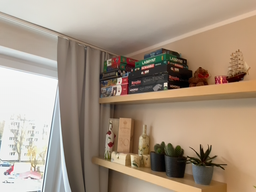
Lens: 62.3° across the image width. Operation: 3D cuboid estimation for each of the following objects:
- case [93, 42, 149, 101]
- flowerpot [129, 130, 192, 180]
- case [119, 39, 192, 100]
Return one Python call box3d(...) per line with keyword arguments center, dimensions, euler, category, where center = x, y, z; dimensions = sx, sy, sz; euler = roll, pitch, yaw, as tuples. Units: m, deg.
box3d(center=(-0.070, -0.200, 2.000), dimensions=(0.310, 0.440, 0.400), euler=(12, -12, -38), category="case")
box3d(center=(0.220, 0.400, 1.510), dimensions=(0.190, 0.270, 0.410), euler=(12, -12, -38), category="flowerpot")
box3d(center=(0.200, -0.170, 1.640), dimensions=(0.280, 0.340, 0.470), euler=(12, -12, -38), category="case")
